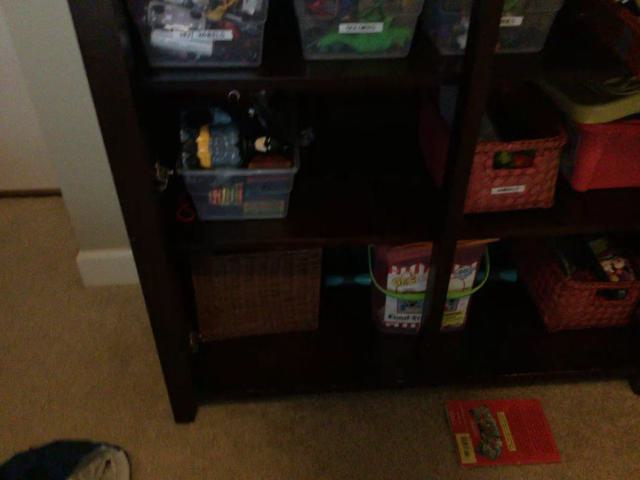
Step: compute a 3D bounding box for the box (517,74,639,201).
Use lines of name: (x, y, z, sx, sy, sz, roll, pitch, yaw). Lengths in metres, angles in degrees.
box: (0.520, -0.200, 1.080, 0.190, 0.120, 0.270, -2, 37, -3)

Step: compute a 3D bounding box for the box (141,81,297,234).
box: (-0.170, -0.170, 1.080, 0.240, 0.120, 0.360, -2, 37, -3)

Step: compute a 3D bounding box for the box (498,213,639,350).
box: (0.550, 0.080, 1.270, 0.200, 0.120, 0.310, -2, 37, -3)

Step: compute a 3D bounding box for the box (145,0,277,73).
box: (-0.150, -0.380, 0.890, 0.160, 0.110, 0.370, -2, 37, -3)
